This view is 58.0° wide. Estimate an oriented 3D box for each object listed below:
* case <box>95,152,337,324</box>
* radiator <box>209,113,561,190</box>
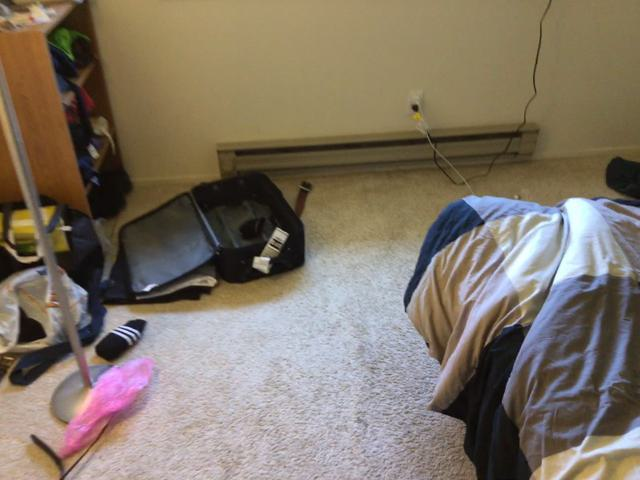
[{"bbox_3d":[-0.440,-0.060,2.340,0.780,0.180,0.700,-16,36,-19],"label":"case"},{"bbox_3d":[0.310,-0.420,2.730,1.620,0.210,0.090,-5,34,-3],"label":"radiator"}]
